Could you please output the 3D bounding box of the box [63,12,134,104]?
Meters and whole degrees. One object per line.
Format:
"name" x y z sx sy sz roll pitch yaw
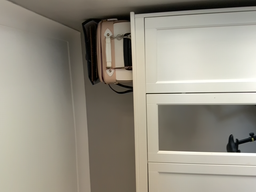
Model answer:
"box" -0.160 -0.250 1.450 0.470 0.340 0.510 -60 -32 -77
